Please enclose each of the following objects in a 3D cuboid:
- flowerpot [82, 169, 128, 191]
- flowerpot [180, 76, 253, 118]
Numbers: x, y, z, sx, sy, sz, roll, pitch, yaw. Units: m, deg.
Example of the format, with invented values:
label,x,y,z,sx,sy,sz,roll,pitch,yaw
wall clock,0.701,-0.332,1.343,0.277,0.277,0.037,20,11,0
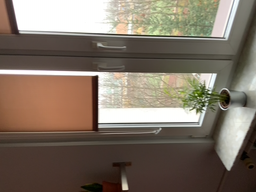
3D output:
label,x,y,z,sx,sy,sz,roll,pitch,yaw
flowerpot,-0.150,0.600,1.360,0.130,0.270,0.210,-102,14,-59
flowerpot,0.450,0.010,1.110,0.090,0.300,0.200,-101,13,-56
